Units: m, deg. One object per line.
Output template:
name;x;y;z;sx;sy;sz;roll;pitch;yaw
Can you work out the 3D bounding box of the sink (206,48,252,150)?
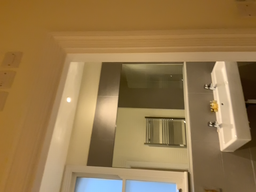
sink;1.050;0.030;2.300;0.470;0.190;0.990;78;-166;-64
